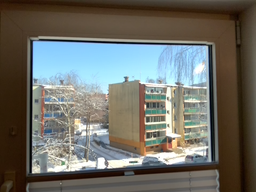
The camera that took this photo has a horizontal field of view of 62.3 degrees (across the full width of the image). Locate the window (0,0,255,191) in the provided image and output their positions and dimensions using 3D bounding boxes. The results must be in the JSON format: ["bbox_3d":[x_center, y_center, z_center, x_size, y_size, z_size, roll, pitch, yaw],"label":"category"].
[{"bbox_3d":[-0.010,0.270,0.640,0.800,1.150,0.200,0,-2,-7],"label":"window"}]
